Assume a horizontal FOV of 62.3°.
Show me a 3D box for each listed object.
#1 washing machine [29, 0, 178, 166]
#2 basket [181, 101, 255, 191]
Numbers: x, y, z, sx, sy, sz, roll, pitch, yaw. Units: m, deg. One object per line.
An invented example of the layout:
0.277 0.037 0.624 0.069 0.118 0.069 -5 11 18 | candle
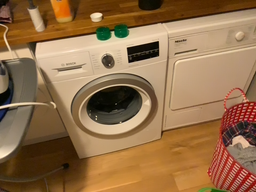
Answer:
-0.140 -0.160 1.420 0.590 0.870 0.790 -11 45 -6 | washing machine
0.650 0.380 1.120 0.500 0.430 0.490 -16 46 -11 | basket
